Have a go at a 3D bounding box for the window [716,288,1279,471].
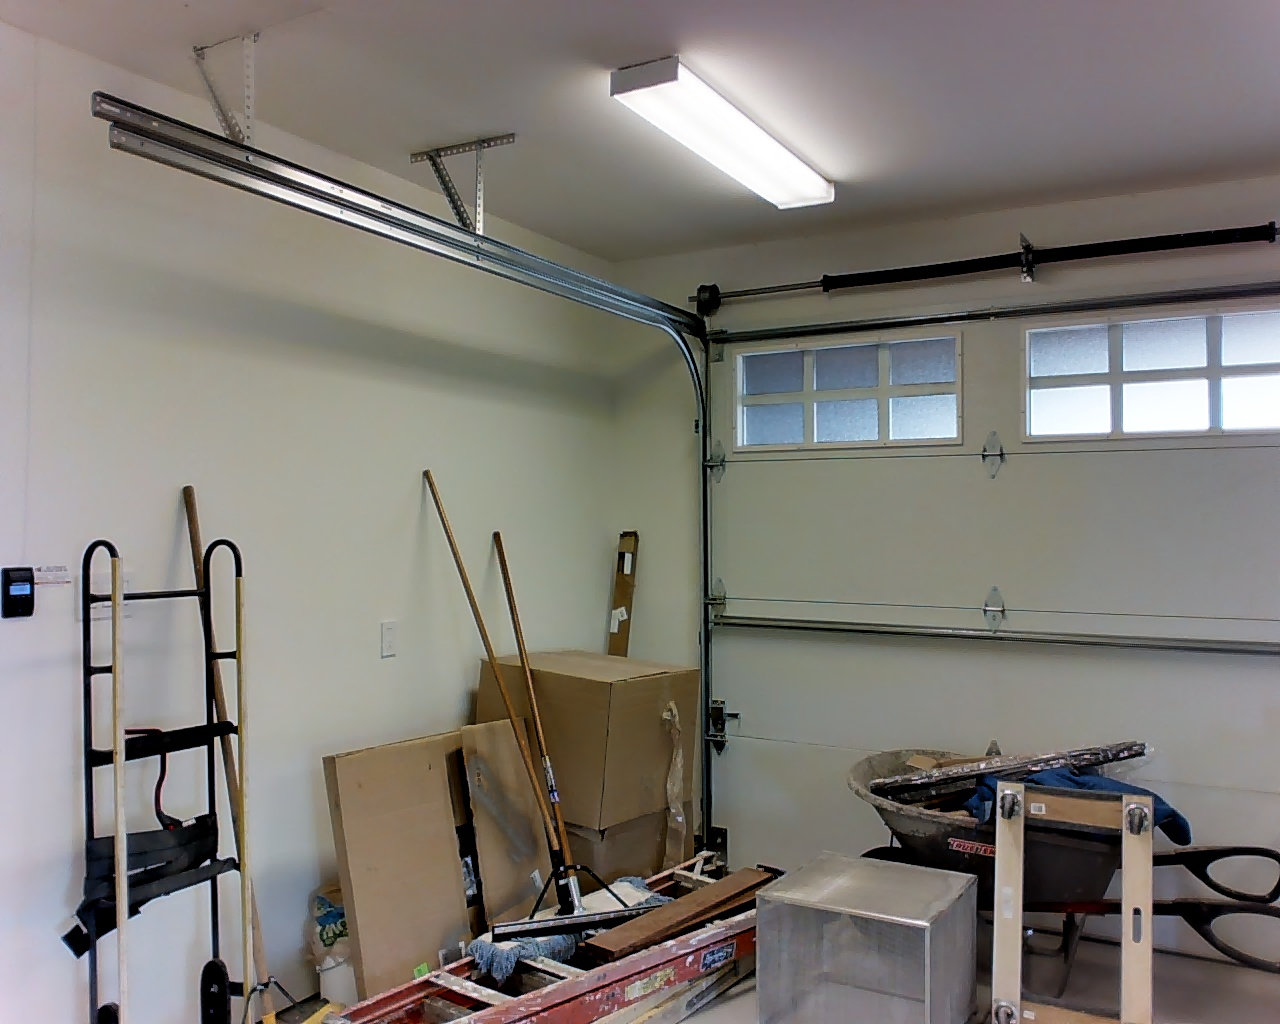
[{"bbox_3d":[1.920,-0.480,3.930,3.580,0.580,0.120,0,-1,30],"label":"window"}]
